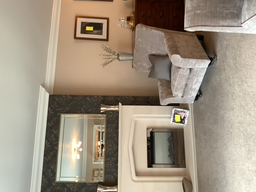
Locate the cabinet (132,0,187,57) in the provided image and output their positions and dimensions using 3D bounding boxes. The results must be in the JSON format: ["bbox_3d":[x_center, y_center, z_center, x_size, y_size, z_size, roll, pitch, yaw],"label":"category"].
[{"bbox_3d":[0.520,-1.530,3.800,0.520,0.850,1.540,109,162,-79],"label":"cabinet"}]
